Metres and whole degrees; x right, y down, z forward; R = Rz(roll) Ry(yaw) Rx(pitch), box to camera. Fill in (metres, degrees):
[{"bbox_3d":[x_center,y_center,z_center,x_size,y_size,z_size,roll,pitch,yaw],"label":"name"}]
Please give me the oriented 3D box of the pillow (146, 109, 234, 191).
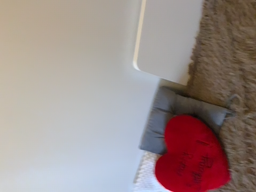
[{"bbox_3d":[0.300,0.330,1.130,0.360,0.190,0.450,20,106,58],"label":"pillow"}]
